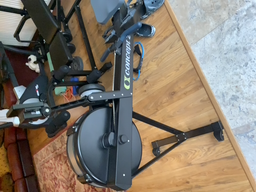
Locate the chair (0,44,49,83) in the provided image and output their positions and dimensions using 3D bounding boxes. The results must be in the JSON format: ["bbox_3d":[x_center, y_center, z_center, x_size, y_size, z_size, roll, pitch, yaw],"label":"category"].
[{"bbox_3d":[-1.750,-0.460,3.050,0.310,1.020,0.460,-35,69,43],"label":"chair"}]

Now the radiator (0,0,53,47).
[{"bbox_3d":[-1.320,-1.210,2.630,1.760,0.640,0.170,-34,69,43],"label":"radiator"}]
